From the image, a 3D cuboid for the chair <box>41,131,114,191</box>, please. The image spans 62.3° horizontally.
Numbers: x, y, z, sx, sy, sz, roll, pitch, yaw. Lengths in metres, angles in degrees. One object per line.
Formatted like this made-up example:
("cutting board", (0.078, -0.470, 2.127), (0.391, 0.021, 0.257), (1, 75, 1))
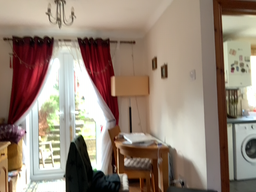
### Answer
("chair", (-0.420, 0.820, 1.910), (0.560, 0.910, 0.470), (-1, -1, -8))
